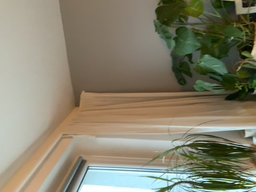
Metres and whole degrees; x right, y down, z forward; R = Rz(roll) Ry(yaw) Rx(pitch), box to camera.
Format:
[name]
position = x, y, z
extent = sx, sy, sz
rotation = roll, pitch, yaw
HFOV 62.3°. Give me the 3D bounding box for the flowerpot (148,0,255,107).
[flowerpot]
position = 0.640, -0.480, 1.460
extent = 0.580, 0.950, 0.950
rotation = -71, -18, -71
